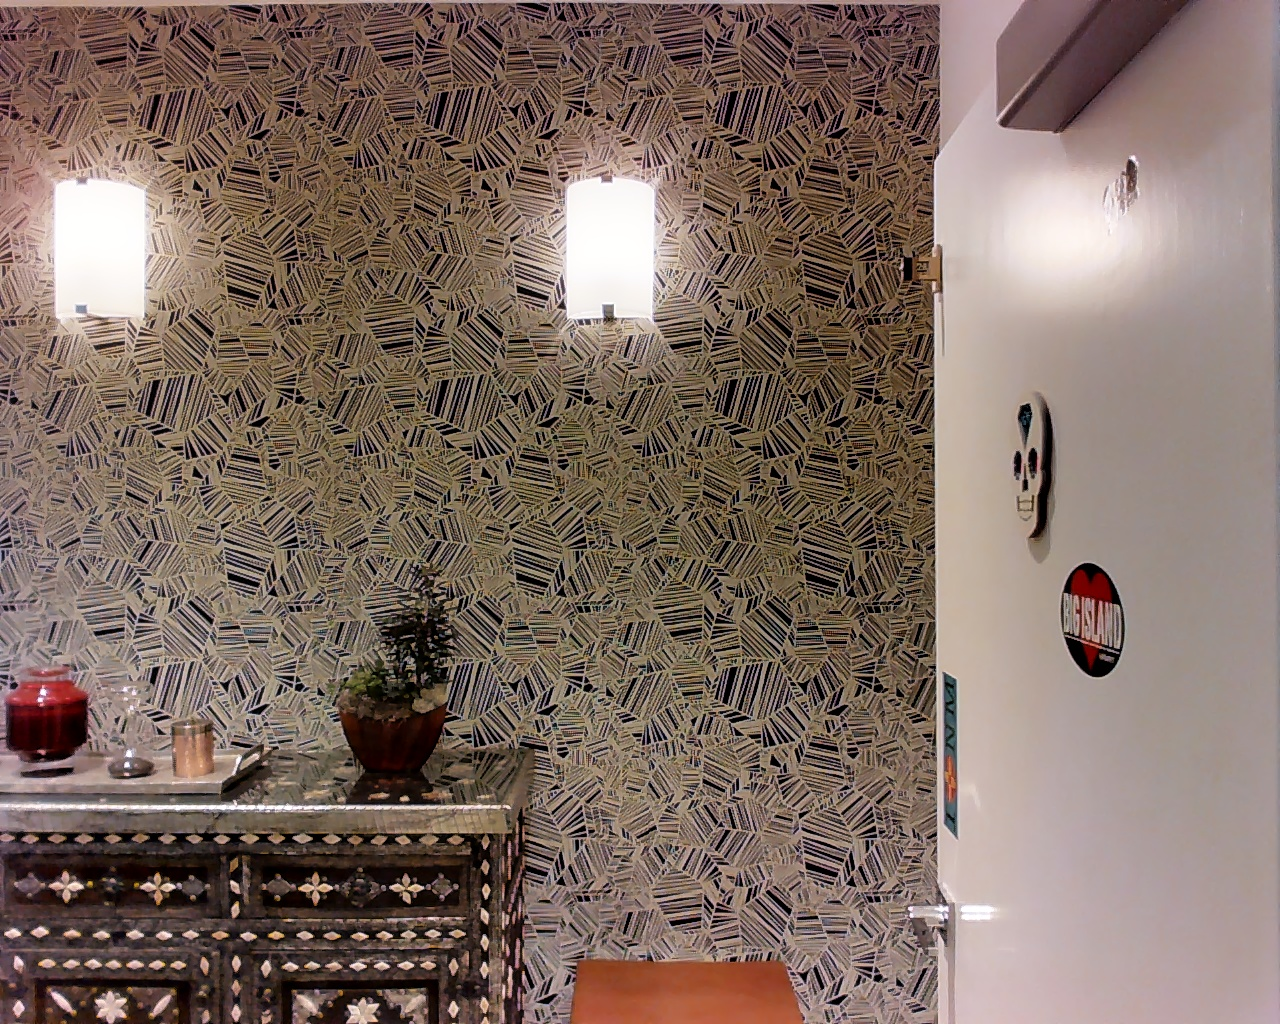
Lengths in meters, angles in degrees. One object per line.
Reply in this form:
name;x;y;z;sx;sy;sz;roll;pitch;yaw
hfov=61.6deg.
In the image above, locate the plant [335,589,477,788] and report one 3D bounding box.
plant;-0.510;0.380;2.370;0.270;0.400;0.220;0;0;-2
